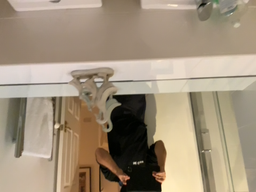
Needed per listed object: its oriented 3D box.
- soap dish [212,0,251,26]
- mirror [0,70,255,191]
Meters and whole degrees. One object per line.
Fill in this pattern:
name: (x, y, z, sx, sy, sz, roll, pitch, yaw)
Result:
soap dish: (0.380, -0.350, 0.790, 0.110, 0.110, 0.090, -14, 159, 30)
mirror: (0.050, 0.690, 0.990, 1.410, 1.650, 0.090, -3, 162, 1)
